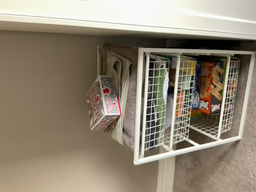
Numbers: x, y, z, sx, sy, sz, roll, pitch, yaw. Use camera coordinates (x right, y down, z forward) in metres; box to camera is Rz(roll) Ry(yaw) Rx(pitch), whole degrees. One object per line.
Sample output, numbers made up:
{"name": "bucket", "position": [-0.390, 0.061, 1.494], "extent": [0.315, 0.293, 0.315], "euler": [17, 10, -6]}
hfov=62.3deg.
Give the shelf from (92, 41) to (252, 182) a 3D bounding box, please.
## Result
{"name": "shelf", "position": [0.210, 0.000, 1.240], "extent": [0.510, 0.700, 0.600], "euler": [26, 118, 59]}
